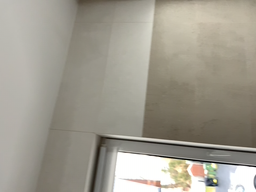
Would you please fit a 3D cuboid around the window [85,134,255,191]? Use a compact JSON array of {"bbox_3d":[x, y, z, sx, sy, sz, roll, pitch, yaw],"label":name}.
[{"bbox_3d":[0.400,0.750,1.410,0.320,1.350,0.820,68,-153,-69],"label":"window"}]
